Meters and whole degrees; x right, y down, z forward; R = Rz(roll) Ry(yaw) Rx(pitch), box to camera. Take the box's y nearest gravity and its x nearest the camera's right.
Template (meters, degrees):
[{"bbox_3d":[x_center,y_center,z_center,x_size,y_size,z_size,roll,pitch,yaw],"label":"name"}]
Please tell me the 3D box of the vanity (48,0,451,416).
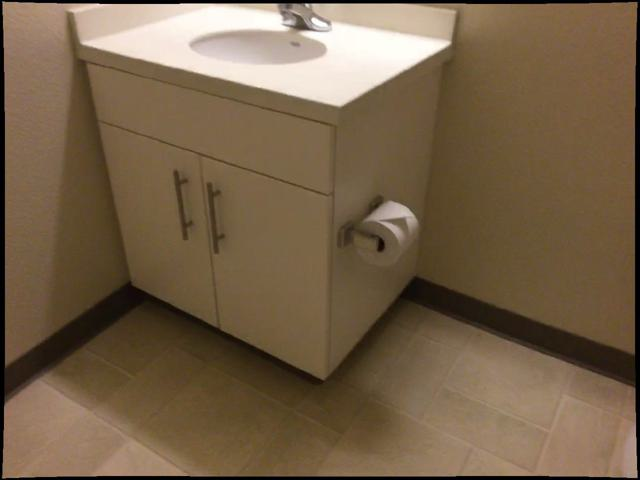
[{"bbox_3d":[-0.160,-0.170,1.690,0.809,0.962,0.580,18,37,25],"label":"vanity"}]
